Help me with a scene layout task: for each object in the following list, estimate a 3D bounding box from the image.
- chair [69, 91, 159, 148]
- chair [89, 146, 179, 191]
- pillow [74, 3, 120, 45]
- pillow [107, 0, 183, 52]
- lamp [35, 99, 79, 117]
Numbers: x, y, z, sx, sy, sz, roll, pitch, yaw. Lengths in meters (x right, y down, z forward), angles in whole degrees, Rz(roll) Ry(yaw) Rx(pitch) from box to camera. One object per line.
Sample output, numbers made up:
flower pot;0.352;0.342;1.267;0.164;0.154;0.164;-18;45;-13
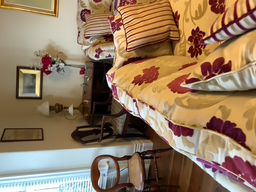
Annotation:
chair;-0.200;0.270;2.710;0.530;0.980;0.520;-146;61;-64
chair;0.040;0.760;2.300;0.490;0.820;0.360;146;123;-63
pillow;-0.410;-0.950;2.830;0.200;0.390;0.470;-46;66;32
pillow;0.120;-0.570;1.530;0.140;0.450;0.470;-41;69;33
lamp;-1.120;0.190;3.350;0.270;0.620;0.200;-148;63;-64
